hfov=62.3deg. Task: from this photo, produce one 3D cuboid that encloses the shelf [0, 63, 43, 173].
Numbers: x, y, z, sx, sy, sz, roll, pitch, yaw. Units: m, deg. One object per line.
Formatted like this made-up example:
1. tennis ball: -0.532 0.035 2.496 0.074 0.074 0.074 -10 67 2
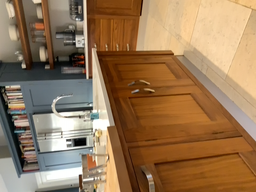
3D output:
1. shelf: -2.000 0.510 3.990 0.550 0.450 2.220 -111 23 -51
